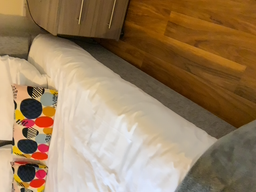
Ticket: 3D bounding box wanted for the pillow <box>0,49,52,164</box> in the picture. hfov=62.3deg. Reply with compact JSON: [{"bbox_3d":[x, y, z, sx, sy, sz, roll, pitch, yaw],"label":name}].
[{"bbox_3d":[-0.750,0.060,1.410,0.180,0.340,0.680,24,113,9],"label":"pillow"}]
